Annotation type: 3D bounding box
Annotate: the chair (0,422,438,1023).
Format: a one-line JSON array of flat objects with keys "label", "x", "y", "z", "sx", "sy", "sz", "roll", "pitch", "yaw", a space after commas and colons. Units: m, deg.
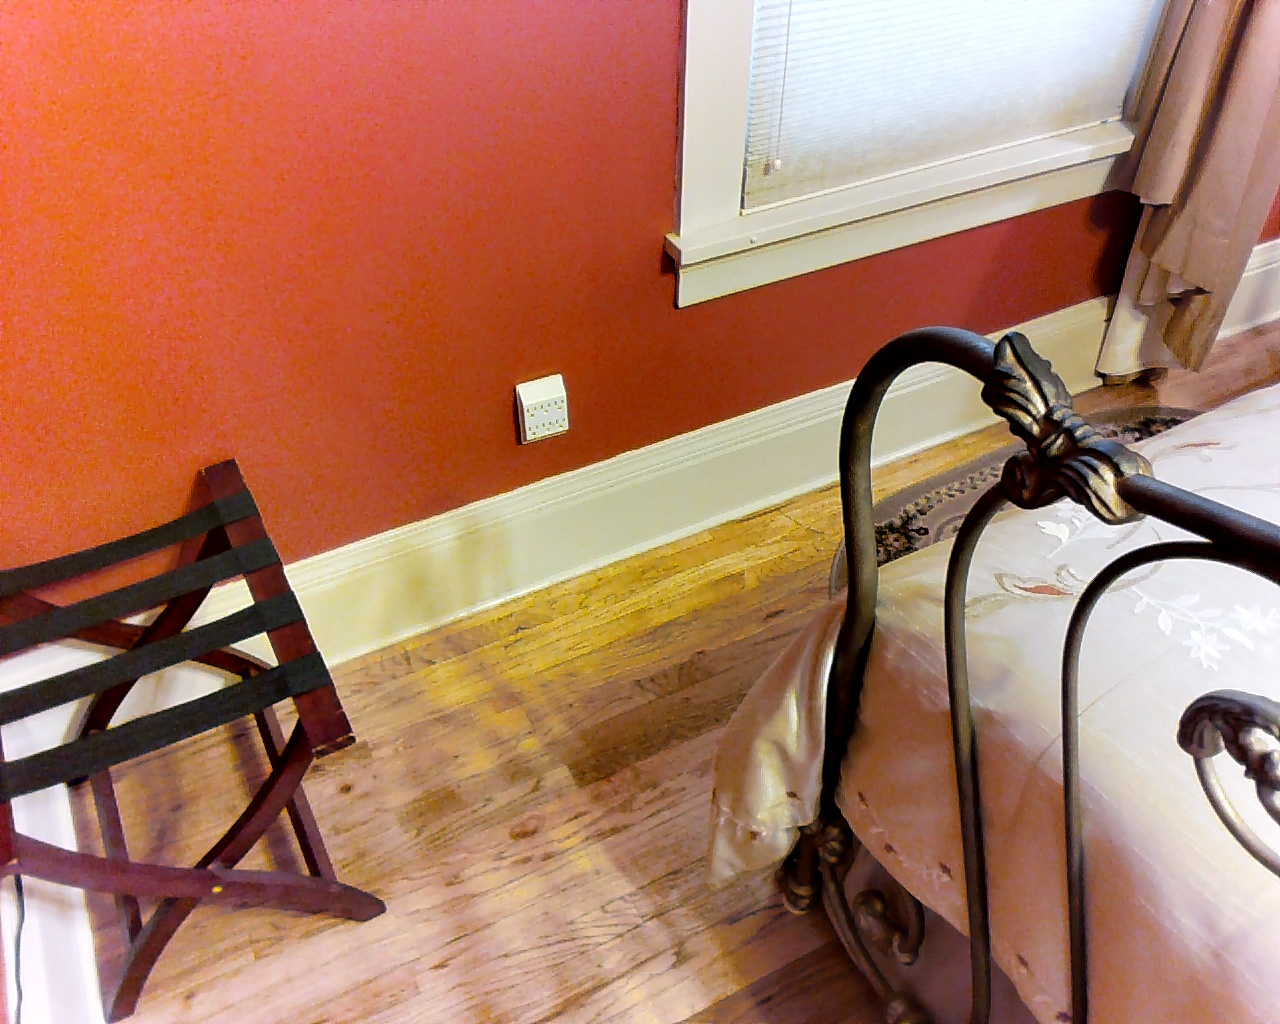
[{"label": "chair", "x": -0.670, "y": 0.320, "z": 1.560, "sx": 0.500, "sy": 0.530, "sz": 0.610, "roll": -20, "pitch": 47, "yaw": -19}]
